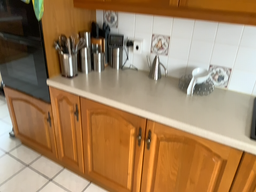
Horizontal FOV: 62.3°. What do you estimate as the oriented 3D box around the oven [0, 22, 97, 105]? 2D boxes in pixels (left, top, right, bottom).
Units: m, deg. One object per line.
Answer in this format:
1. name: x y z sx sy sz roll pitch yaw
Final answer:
1. oven: -0.680 -0.330 1.830 0.550 0.470 0.610 16 30 25
